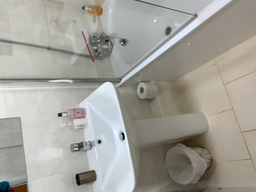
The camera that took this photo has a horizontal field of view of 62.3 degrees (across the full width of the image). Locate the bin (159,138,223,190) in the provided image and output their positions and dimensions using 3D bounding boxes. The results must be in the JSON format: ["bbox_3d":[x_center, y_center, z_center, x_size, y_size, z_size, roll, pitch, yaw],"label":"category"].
[{"bbox_3d":[0.460,0.500,1.570,0.260,0.290,0.280,-35,65,51],"label":"bin"}]
